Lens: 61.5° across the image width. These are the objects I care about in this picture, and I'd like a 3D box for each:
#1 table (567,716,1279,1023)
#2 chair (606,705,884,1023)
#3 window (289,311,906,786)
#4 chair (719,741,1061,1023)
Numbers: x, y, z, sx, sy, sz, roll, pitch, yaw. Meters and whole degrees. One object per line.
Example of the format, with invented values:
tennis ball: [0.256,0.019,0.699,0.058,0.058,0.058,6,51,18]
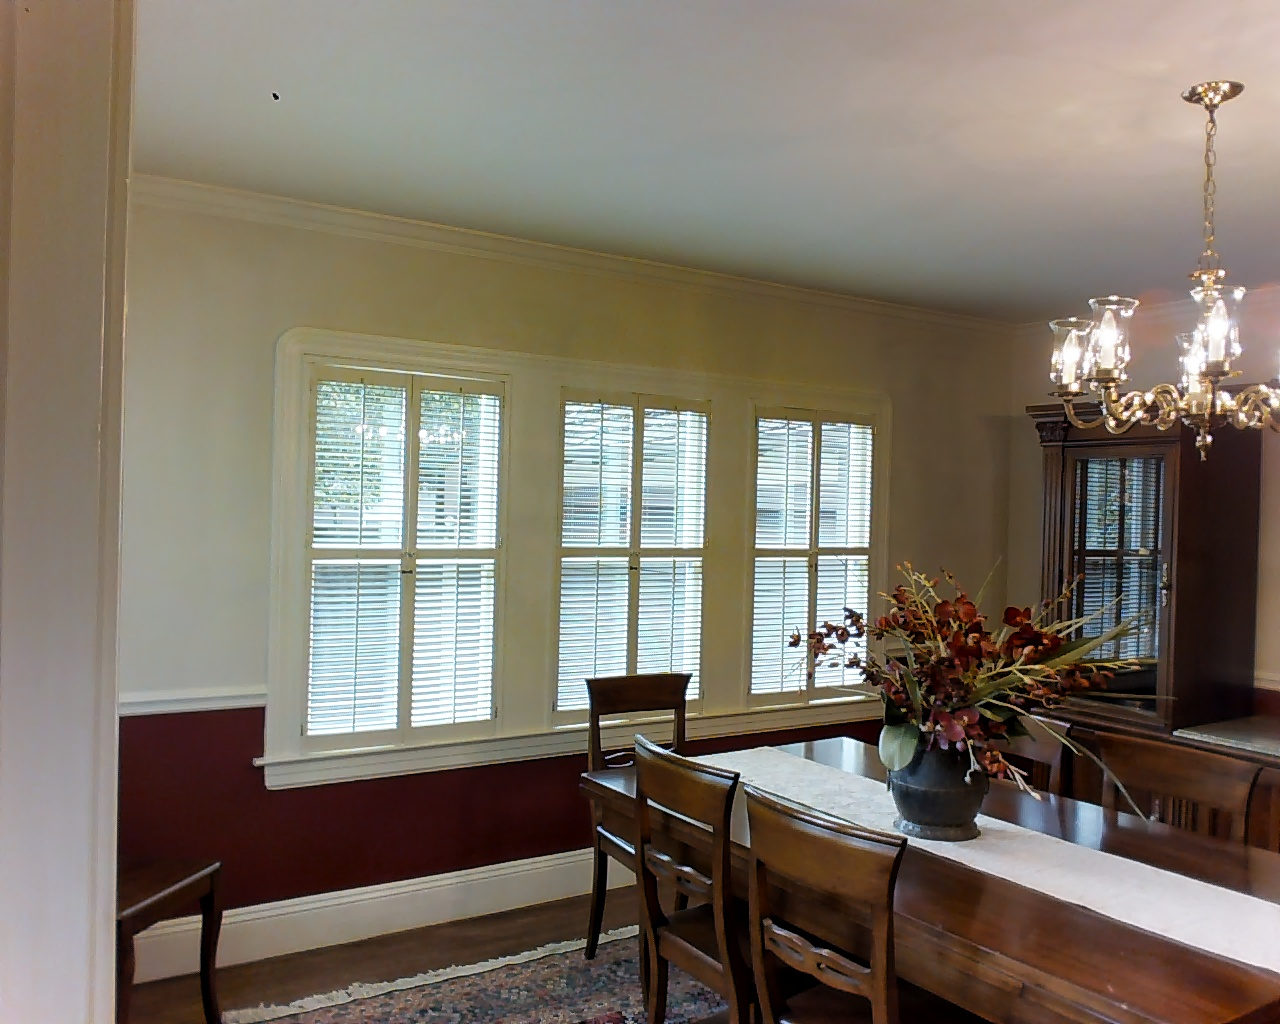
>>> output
table: [0.770,1.100,2.670,1.140,0.760,1.840,1,1,-33]
chair: [0.250,1.000,2.700,0.460,0.910,0.510,1,1,-33]
window: [0.040,0.140,4.370,2.840,1.580,0.050,1,1,-33]
chair: [0.510,1.020,2.240,0.500,0.940,0.470,1,1,-36]
